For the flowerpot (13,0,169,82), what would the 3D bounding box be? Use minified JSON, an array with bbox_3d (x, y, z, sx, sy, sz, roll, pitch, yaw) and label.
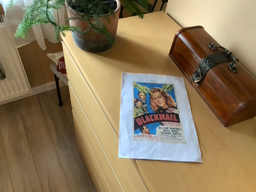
[{"bbox_3d":[-0.120,-0.360,0.580,0.400,0.500,0.300,-17,55,-22],"label":"flowerpot"}]
